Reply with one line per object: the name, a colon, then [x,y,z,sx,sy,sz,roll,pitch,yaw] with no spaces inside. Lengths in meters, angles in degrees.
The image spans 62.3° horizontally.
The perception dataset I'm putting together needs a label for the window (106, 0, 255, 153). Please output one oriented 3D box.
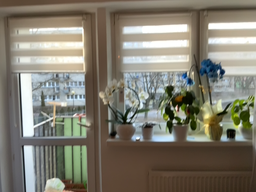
window: [0.510,-0.160,1.790,1.340,1.190,0.310,0,3,1]
